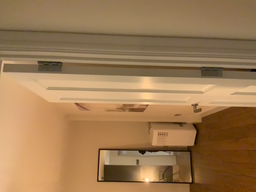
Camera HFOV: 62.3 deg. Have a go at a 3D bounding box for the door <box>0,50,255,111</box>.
[{"bbox_3d":[0.470,-0.020,1.260,0.860,1.970,0.030,107,164,-75],"label":"door"}]
